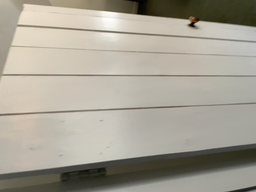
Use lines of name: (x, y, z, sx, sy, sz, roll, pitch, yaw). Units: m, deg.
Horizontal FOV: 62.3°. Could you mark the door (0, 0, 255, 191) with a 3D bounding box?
door: (0.390, -0.150, 0.890, 0.820, 1.700, 0.130, -109, 25, -43)
